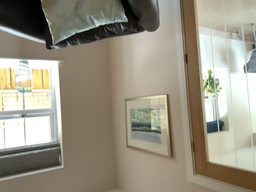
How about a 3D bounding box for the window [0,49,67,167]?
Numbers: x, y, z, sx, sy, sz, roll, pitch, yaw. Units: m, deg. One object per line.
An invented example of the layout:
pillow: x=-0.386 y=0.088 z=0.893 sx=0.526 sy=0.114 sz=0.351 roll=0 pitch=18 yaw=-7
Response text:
window: x=-1.260 y=0.120 z=2.580 sx=0.910 sy=1.330 sz=0.180 roll=-3 pitch=178 yaw=-30
